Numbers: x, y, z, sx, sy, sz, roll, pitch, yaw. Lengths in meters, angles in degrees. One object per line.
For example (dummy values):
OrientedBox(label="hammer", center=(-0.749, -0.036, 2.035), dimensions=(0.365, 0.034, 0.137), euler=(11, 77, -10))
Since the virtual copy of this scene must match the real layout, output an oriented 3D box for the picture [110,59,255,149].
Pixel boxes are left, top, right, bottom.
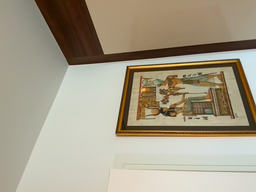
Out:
OrientedBox(label="picture", center=(0.270, 0.020, 1.110), dimensions=(0.050, 0.660, 0.520), euler=(74, -162, -48))
